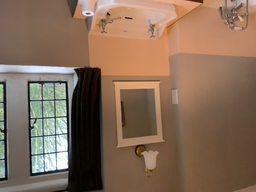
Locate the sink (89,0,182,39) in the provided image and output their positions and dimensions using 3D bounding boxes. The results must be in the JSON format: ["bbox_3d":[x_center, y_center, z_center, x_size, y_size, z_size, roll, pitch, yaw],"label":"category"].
[{"bbox_3d":[0.040,-0.710,1.800,0.640,0.270,0.480,-2,178,-22],"label":"sink"}]
